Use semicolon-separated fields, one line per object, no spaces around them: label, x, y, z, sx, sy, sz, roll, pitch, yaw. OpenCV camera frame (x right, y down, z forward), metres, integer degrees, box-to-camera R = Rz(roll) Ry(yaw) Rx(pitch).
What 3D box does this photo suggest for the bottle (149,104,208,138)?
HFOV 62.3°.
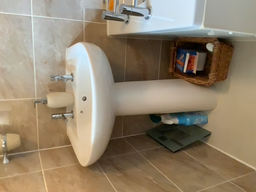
bottle;0.320;0.150;1.380;0.260;0.270;0.140;15;106;61
